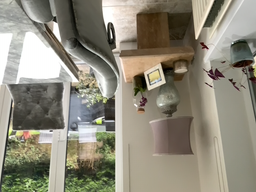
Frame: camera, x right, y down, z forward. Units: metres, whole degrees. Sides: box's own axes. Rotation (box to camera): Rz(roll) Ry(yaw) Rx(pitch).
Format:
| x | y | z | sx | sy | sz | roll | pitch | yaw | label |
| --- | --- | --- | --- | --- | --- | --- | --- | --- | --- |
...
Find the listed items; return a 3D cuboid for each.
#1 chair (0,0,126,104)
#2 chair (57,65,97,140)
| x | y | z | sx | sy | sz | roll | pitch | yaw | label |
| --- | --- | --- | --- | --- | --- | --- | --- | --- | --- |
| -0.390 | -0.550 | 0.940 | 0.690 | 1.040 | 0.590 | -2 | 164 | 5 | chair |
| -0.750 | 0.120 | 3.280 | 0.470 | 1.050 | 0.560 | 0 | 164 | -4 | chair |
